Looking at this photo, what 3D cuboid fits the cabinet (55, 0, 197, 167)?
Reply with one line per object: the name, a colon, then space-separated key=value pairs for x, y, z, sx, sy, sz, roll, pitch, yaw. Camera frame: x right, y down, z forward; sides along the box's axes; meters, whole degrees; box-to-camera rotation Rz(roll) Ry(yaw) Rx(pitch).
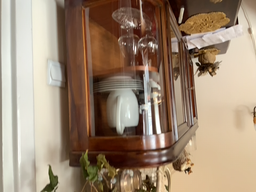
cabinet: x=0.190 y=-0.070 z=1.320 sx=0.370 sy=0.600 sz=1.460 roll=-4 pitch=176 yaw=20
